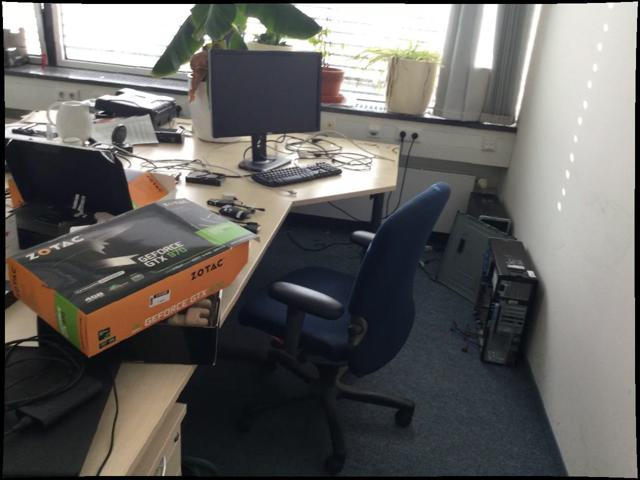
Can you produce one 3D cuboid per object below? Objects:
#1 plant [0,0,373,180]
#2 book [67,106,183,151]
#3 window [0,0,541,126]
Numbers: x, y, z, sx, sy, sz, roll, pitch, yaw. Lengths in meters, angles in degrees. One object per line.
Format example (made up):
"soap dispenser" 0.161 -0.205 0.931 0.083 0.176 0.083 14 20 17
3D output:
"plant" -0.519 -1.021 2.810 1.469 1.051 1.100 5 25 7
"book" -0.949 -0.561 2.870 0.410 0.110 0.390 5 25 7
"window" -0.549 -1.522 3.380 3.437 1.321 0.710 5 25 7
